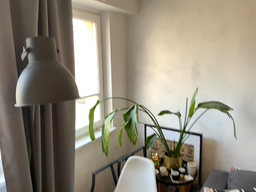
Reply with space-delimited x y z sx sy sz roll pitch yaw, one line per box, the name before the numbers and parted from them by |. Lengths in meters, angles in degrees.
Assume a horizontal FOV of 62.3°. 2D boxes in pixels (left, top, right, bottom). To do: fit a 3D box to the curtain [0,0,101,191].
curtain | -0.550 0.270 1.470 0.350 2.640 0.650 5 11 31
